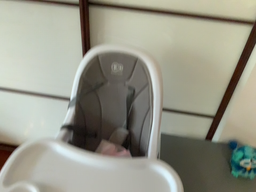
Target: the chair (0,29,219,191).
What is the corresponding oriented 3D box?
[{"bbox_3d":[-0.120,0.340,0.900,0.570,0.950,0.680,9,38,4],"label":"chair"}]
